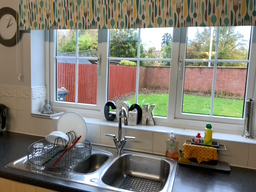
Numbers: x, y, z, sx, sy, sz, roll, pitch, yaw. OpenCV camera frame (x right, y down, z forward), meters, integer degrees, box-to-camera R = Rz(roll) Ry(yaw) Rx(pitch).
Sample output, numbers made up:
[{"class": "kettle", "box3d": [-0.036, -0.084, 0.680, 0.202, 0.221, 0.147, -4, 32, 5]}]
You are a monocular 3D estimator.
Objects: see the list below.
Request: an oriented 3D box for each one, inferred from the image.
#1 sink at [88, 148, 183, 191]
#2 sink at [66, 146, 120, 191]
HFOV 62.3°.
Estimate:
[{"class": "sink", "box3d": [0.080, 0.520, 1.280, 0.450, 0.190, 0.490, 5, 7, 17]}, {"class": "sink", "box3d": [-0.210, 0.500, 1.380, 0.170, 0.190, 0.420, 5, 7, 17]}]
